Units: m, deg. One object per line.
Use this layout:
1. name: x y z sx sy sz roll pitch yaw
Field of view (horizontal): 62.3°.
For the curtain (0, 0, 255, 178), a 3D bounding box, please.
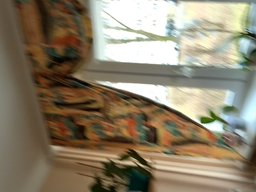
1. curtain: 0.080 -0.620 1.250 0.210 1.780 2.610 -72 -15 -60
